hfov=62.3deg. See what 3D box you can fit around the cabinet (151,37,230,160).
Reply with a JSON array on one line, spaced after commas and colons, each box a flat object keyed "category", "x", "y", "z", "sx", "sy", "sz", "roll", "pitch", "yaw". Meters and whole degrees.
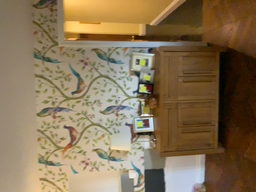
[{"category": "cabinet", "x": 0.790, "y": 0.020, "z": 2.830, "sx": 0.520, "sy": 0.840, "sz": 1.460, "roll": -159, "pitch": 69, "yaw": -78}]
